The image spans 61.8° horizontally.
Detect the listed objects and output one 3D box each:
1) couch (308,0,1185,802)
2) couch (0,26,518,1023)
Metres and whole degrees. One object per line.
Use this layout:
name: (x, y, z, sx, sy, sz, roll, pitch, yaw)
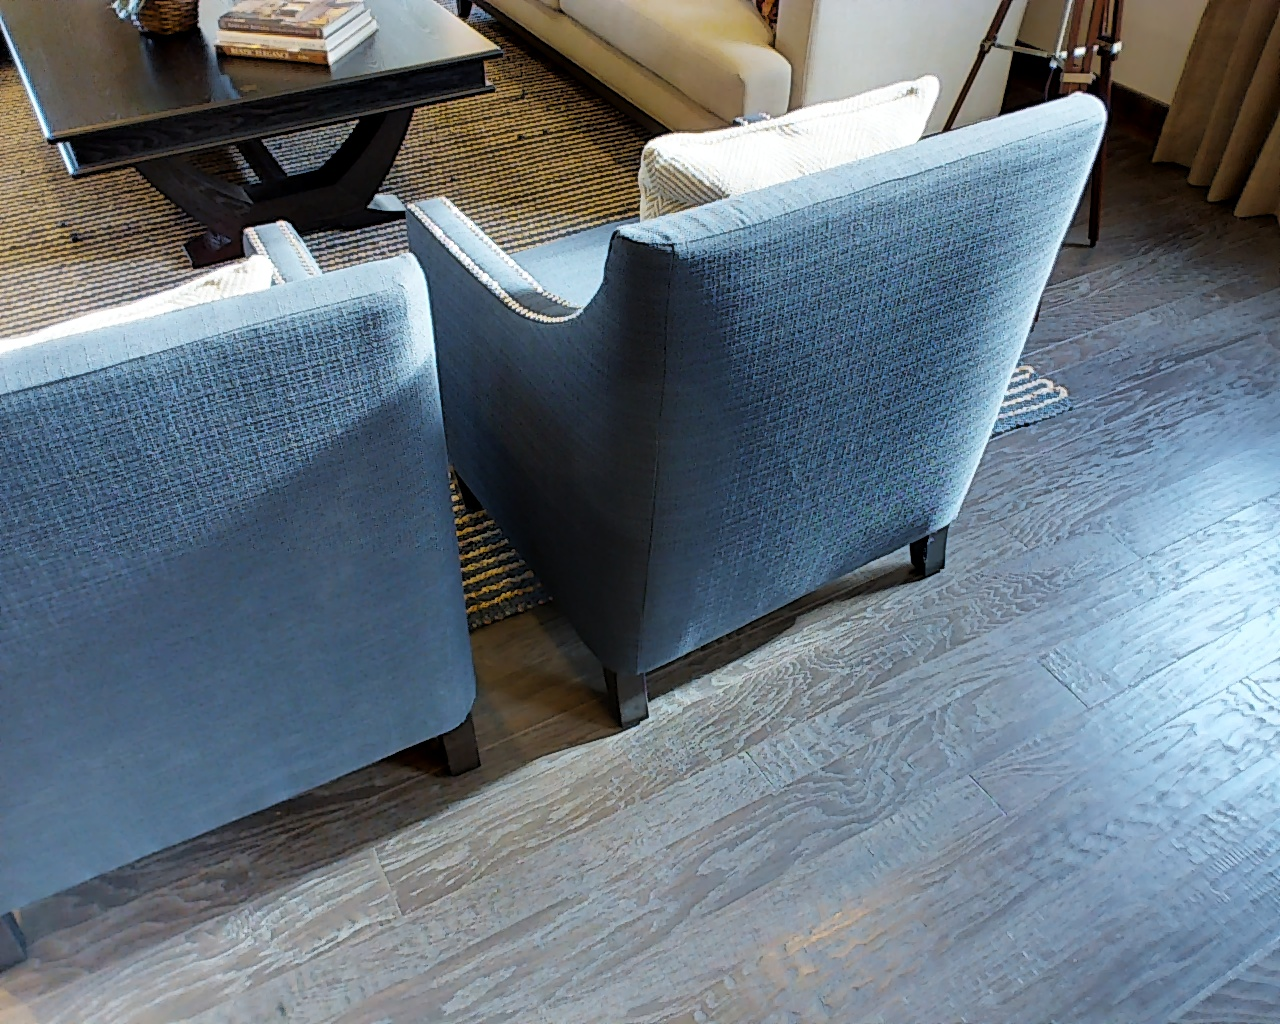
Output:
couch: (0.110, -0.280, 1.770, 0.890, 0.900, 0.820, -22, 47, -24)
couch: (-0.740, -0.010, 1.460, 0.810, 0.900, 0.820, -21, 46, -22)
